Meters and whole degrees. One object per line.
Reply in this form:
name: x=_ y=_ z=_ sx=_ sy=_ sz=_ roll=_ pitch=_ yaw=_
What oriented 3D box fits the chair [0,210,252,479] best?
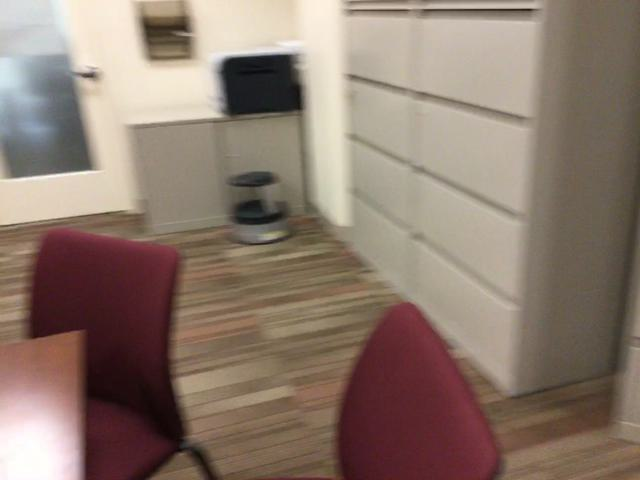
chair: x=-0.530 y=0.460 z=1.240 sx=0.510 sy=0.850 sz=0.630 roll=9 pitch=22 yaw=21

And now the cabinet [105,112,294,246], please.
cabinet: x=-0.770 y=-0.430 z=3.760 sx=1.100 sy=0.690 sz=0.490 roll=-7 pitch=22 yaw=-19

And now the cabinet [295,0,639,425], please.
cabinet: x=0.510 y=-0.490 z=2.540 sx=0.670 sy=1.570 sz=1.900 roll=-7 pitch=22 yaw=-20
